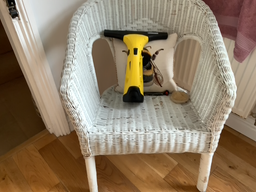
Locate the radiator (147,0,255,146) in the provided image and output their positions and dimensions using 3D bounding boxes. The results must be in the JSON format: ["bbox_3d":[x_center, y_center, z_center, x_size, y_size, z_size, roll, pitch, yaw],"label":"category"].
[{"bbox_3d":[0.390,-0.210,1.120,0.120,0.780,0.660,-30,49,-28],"label":"radiator"}]
